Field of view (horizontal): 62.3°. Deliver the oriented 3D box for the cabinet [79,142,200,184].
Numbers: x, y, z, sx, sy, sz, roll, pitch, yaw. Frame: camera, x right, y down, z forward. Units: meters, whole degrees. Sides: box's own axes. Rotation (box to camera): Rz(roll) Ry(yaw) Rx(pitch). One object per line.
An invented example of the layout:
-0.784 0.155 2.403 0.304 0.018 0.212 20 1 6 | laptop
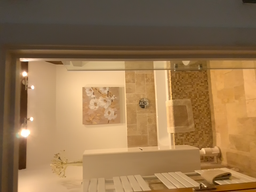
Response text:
0.130 0.810 2.660 0.430 1.410 0.340 144 125 -80 | cabinet
